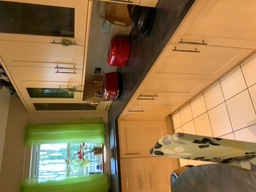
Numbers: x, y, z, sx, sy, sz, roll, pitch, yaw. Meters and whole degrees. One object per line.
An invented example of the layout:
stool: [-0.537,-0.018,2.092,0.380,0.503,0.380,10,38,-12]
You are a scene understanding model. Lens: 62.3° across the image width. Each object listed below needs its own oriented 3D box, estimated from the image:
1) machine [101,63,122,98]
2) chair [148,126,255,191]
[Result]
machine: [-0.210,-0.180,2.600,0.300,0.190,0.330,122,145,-63]
chair: [0.660,0.480,1.230,0.480,0.920,0.500,121,146,-62]
